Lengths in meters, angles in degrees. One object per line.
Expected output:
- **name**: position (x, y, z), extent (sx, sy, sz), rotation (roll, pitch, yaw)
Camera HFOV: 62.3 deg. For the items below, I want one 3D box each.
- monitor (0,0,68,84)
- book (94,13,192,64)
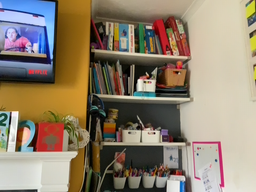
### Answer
- **monitor**: position (-0.930, -0.390, 1.370), extent (1.010, 0.550, 0.040), rotation (3, -5, -13)
- **book**: position (0.120, -0.530, 2.030), extent (0.850, 0.310, 0.360), rotation (1, -11, -4)
